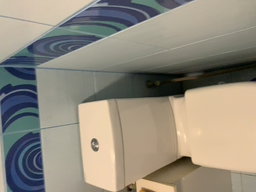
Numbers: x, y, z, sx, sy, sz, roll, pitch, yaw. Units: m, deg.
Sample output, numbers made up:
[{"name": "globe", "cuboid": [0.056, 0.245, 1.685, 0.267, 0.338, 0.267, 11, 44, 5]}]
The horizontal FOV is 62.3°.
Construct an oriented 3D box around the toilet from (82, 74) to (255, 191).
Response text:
[{"name": "toilet", "cuboid": [0.360, 0.140, 0.920, 0.670, 0.840, 0.370, -5, 89, 44]}]
